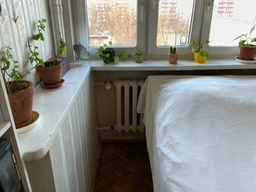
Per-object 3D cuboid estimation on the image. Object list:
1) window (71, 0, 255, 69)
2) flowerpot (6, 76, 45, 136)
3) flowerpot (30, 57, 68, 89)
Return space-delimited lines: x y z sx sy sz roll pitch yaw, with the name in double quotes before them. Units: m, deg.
"window" 0.570 -0.870 1.900 2.150 1.250 0.080 1 23 1
"flowerpot" -0.450 0.030 0.930 0.110 0.170 0.230 -11 25 -24
"flowerpot" -0.510 -0.160 1.400 0.170 0.150 0.220 -2 23 -5
